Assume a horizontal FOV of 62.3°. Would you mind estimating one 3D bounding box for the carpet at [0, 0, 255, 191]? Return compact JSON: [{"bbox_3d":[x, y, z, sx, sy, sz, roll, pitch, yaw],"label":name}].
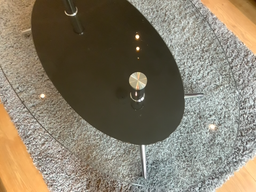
[{"bbox_3d":[-0.100,-0.260,1.120,1.250,0.060,1.780,-34,76,-9],"label":"carpet"}]
